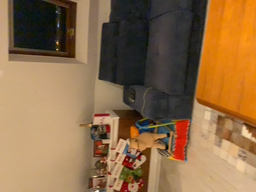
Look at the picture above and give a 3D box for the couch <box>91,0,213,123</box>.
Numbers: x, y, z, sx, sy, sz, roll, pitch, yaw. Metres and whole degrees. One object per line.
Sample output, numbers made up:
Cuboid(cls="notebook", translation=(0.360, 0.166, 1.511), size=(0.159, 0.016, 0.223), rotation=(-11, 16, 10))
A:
Cuboid(cls="couch", translation=(0.230, -1.350, 2.490), size=(1.160, 1.010, 3.090), rotation=(-149, 62, -69))
